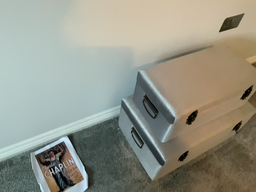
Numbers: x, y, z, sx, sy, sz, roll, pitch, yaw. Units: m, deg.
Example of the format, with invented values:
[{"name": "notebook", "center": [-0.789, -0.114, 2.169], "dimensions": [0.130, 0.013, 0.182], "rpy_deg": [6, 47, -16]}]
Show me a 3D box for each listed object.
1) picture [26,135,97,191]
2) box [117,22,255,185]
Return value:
[{"name": "picture", "center": [-0.310, 0.350, 0.980], "dimensions": [0.230, 0.030, 0.290], "rpy_deg": [-21, 56, -24]}, {"name": "box", "center": [0.370, 0.010, 1.070], "dimensions": [0.710, 0.470, 0.410], "rpy_deg": [-21, 56, -24]}]
